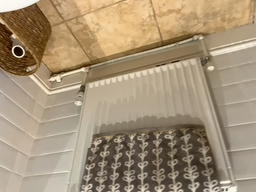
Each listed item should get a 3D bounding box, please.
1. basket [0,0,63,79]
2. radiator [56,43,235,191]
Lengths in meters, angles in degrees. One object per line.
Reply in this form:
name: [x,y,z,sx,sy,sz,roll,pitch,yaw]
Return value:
basket: [-0.520,-0.310,1.010,0.200,0.240,0.370,-12,141,15]
radiator: [0.040,0.090,0.950,0.630,0.640,0.100,-12,140,16]
